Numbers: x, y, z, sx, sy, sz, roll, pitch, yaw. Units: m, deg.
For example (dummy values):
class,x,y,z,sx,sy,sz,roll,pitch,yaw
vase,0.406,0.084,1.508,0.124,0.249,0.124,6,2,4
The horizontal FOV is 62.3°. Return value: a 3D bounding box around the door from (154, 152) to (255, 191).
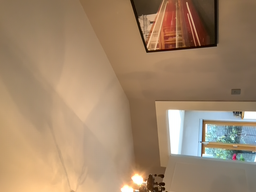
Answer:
class,x,y,z,sx,sy,sz,roll,pitch,yaw
door,1.330,0.930,2.180,0.740,2.010,0.030,-47,-47,-59
